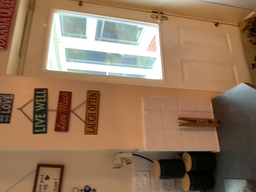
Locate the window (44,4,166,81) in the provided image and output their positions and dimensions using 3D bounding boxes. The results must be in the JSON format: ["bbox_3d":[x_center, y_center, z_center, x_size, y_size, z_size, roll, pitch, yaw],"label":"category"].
[{"bbox_3d":[-0.160,-0.440,1.780,0.060,0.960,0.570,128,143,-67],"label":"window"}]
